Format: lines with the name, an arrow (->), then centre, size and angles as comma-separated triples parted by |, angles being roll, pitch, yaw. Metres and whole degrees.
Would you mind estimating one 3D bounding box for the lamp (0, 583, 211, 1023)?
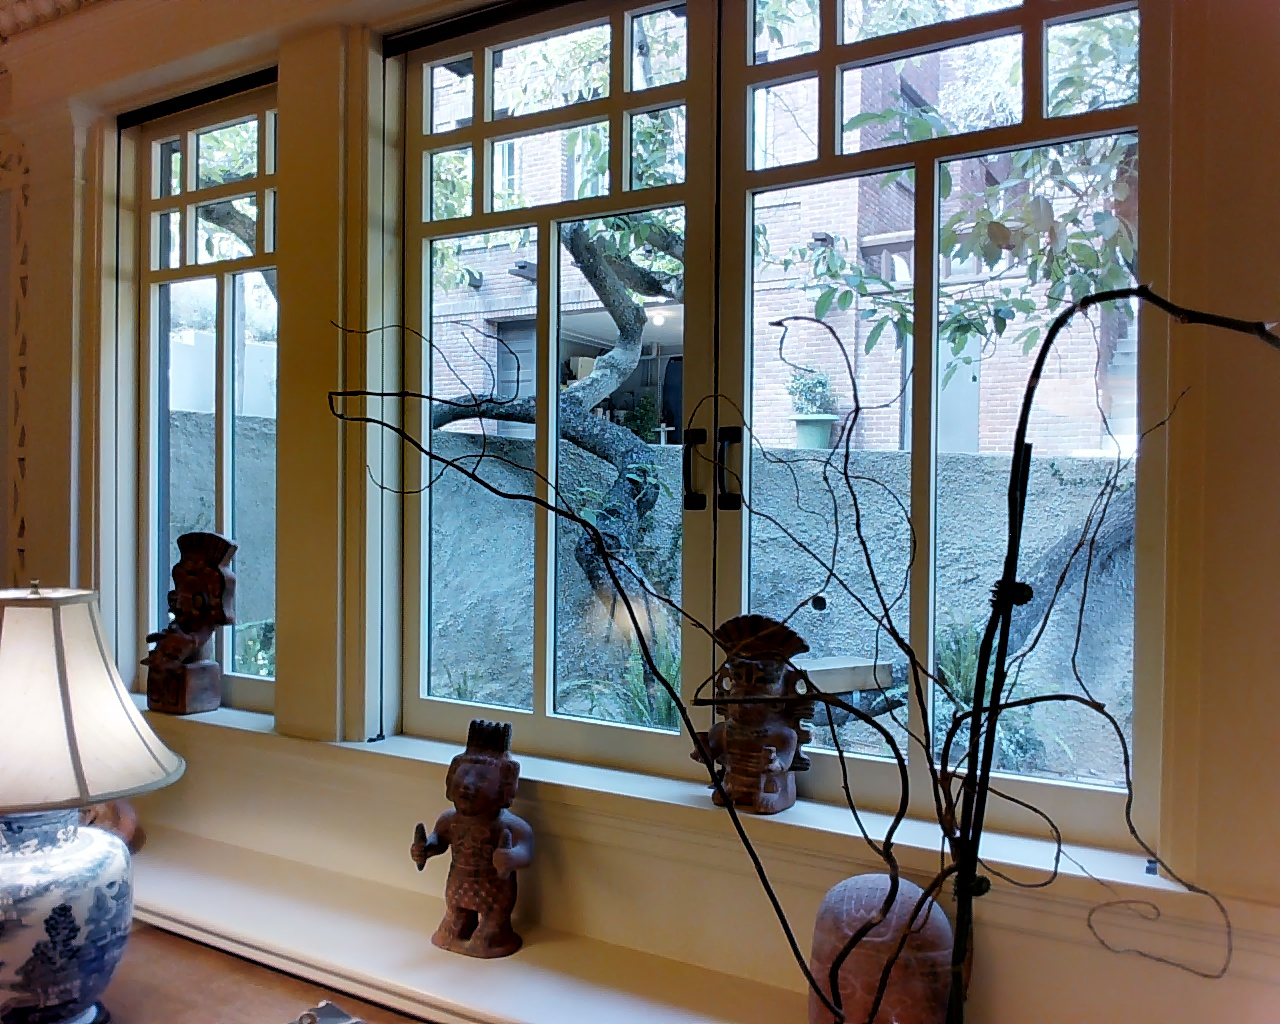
lamp -> -0.840, 0.400, 1.440 | 0.400, 0.580, 0.290 | 1, 0, 21
